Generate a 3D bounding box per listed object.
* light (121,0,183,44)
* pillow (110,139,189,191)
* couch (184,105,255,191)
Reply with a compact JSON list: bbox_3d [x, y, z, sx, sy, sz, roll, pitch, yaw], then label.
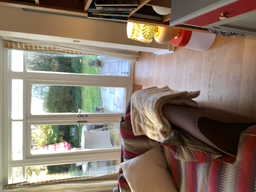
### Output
[{"bbox_3d":[0.230,-0.730,2.140,0.310,0.520,0.330,-160,72,-69],"label":"light"},{"bbox_3d":[0.240,0.900,2.290,0.580,0.540,0.360,40,167,27],"label":"pillow"},{"bbox_3d":[0.870,0.670,1.420,0.970,0.440,1.040,-152,65,-68],"label":"couch"}]
